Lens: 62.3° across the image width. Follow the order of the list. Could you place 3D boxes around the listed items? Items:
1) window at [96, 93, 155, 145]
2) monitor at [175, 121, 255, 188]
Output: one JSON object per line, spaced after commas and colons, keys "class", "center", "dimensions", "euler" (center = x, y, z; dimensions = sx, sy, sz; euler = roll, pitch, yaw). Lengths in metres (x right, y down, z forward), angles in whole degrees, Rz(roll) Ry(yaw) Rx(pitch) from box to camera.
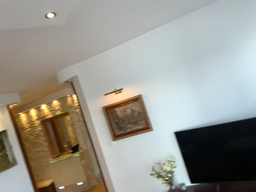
{"class": "window", "center": [-0.040, 0.340, 3.120], "dimensions": [0.730, 0.570, 0.090], "euler": [-19, -1, 15]}
{"class": "monitor", "center": [1.200, 0.720, 2.520], "dimensions": [1.150, 0.730, 0.080], "euler": [-17, 0, 36]}
